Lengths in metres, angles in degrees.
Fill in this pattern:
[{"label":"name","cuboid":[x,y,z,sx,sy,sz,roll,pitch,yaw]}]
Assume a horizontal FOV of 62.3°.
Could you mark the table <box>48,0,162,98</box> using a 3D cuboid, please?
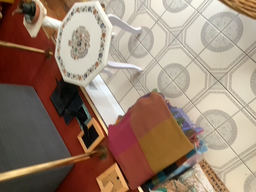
[{"label":"table","cuboid":[-0.170,-0.330,1.520,0.490,0.460,0.480,-48,62,25]}]
